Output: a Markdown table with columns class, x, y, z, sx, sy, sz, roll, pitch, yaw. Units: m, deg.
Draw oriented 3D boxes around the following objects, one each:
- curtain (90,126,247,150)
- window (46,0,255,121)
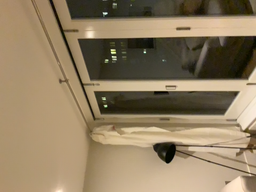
| class | x | y | z | sx | sy | sz | roll | pitch | yaw |
| --- | --- | --- | --- | --- | --- | --- | --- | --- | --- |
| curtain | 0.510 | 0.570 | 2.870 | 0.280 | 1.980 | 0.200 | 86 | -175 | -56 |
| window | 0.380 | -0.370 | 2.040 | 2.370 | 1.860 | 0.140 | 86 | -175 | -56 |
